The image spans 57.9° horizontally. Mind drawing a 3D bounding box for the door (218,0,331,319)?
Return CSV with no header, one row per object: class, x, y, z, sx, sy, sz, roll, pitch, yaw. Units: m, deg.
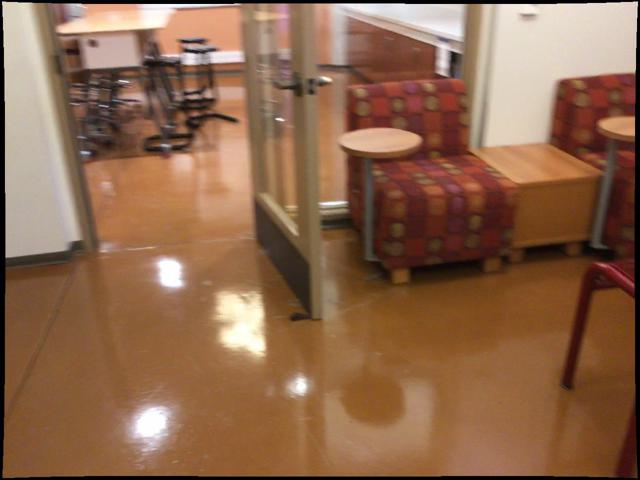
door,-0.220,-0.601,2.410,0.130,1.581,0.980,-11,27,-17
